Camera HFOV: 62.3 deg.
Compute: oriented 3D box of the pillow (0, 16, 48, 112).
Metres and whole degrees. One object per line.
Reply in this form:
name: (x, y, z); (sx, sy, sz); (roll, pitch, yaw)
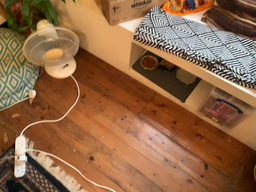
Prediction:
pillow: (-0.880, -0.190, 1.400); (0.480, 0.310, 0.480); (-23, 65, -17)
